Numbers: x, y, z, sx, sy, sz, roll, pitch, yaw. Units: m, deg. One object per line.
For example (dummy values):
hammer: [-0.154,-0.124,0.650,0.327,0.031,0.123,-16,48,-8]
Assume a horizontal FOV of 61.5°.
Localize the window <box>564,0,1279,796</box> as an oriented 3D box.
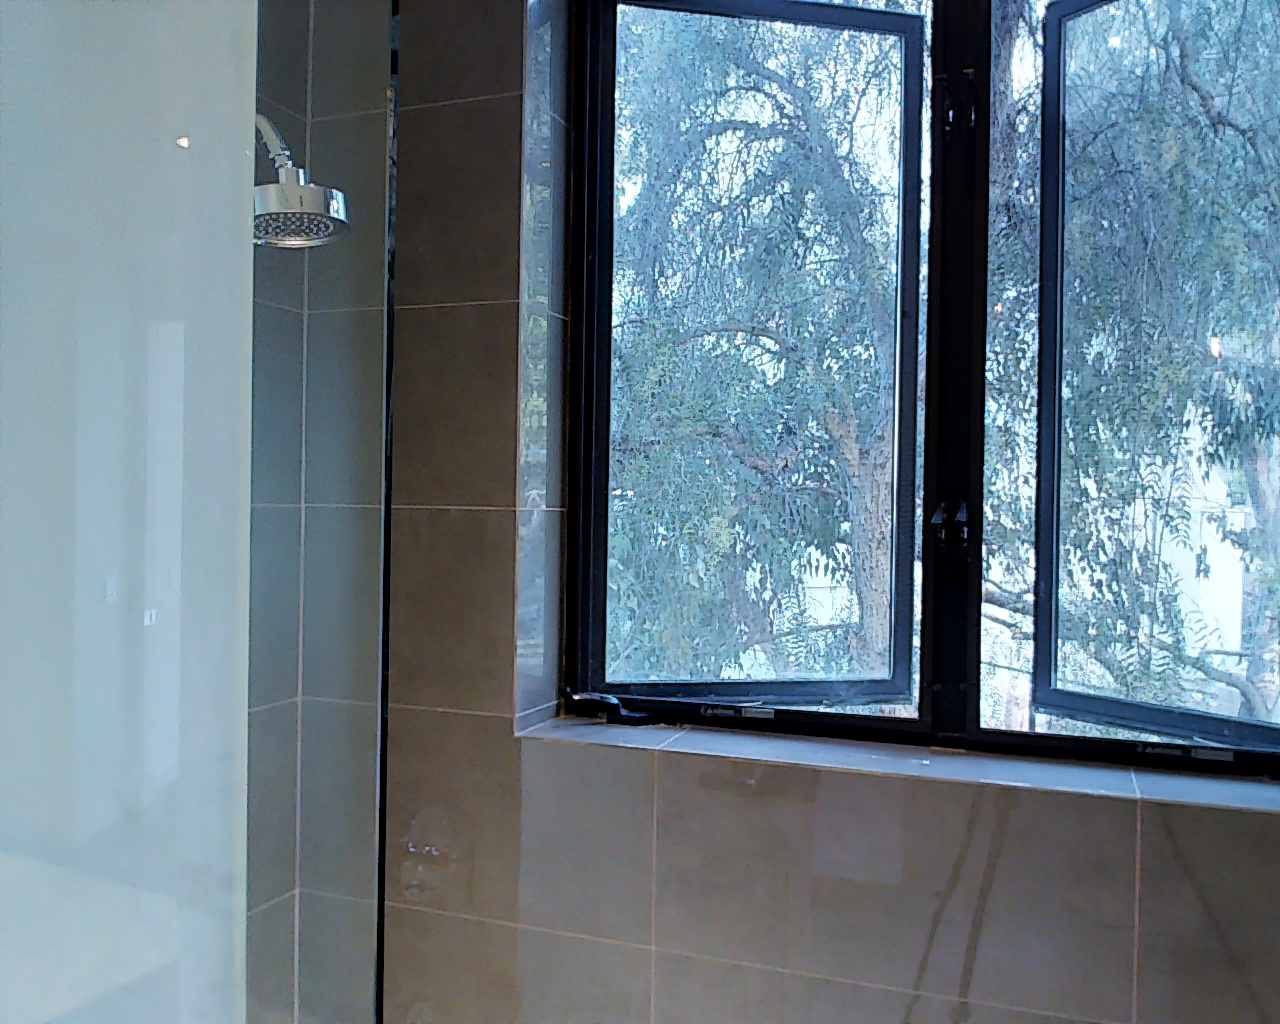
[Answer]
window: [0.450,-0.250,1.490,1.190,1.190,0.060,1,0,22]
